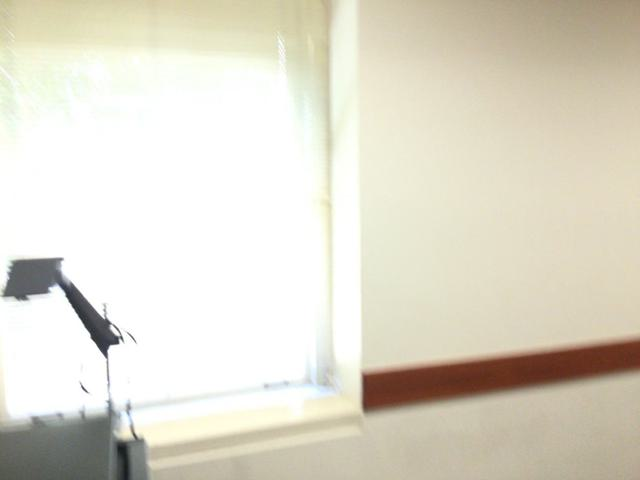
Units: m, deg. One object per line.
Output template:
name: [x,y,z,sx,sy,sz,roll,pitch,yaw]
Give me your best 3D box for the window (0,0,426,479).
window: [-0.520,-0.240,1.990,1.450,1.810,0.710,-6,4,-13]
